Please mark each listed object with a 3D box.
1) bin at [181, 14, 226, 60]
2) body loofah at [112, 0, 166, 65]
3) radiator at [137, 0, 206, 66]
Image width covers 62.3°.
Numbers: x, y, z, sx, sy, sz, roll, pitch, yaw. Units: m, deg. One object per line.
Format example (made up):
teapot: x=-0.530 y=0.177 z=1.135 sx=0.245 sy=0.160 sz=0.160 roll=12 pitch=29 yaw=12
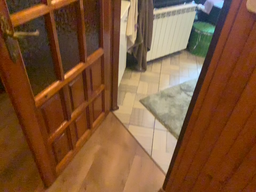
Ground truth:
bin: x=1.010 y=-0.810 z=2.890 sx=0.290 sy=0.450 sz=0.370 roll=-21 pitch=47 yaw=-27
body loofah: x=0.100 y=-0.890 z=2.170 sx=0.380 sy=1.040 sz=0.370 roll=-19 pitch=46 yaw=-25
radiator: x=0.530 y=-0.800 z=2.660 sx=0.820 sy=0.640 sz=0.210 roll=-21 pitch=47 yaw=-27
